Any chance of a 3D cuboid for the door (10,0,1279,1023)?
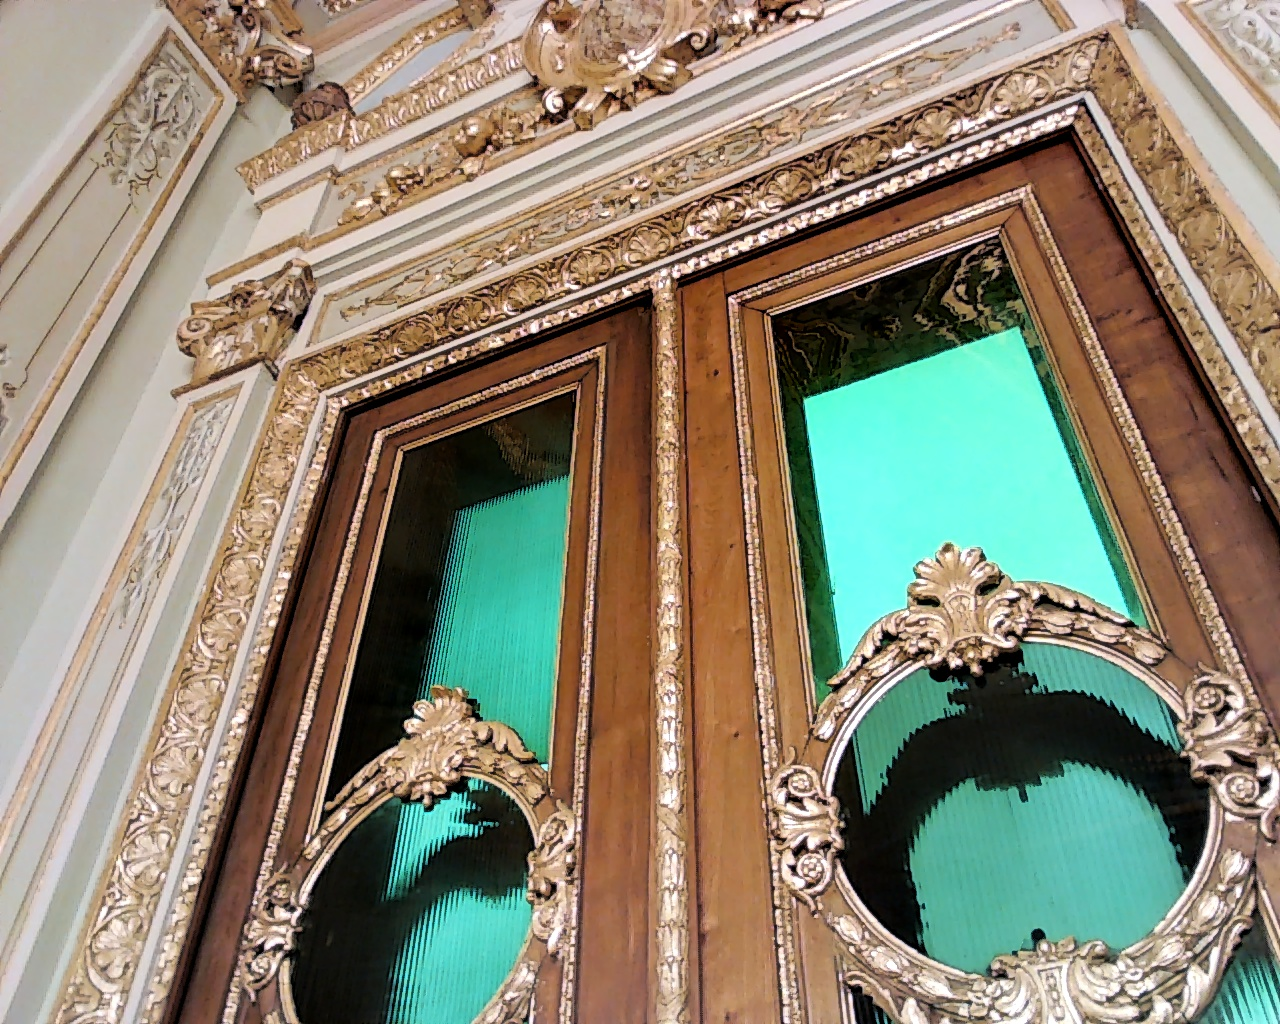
[{"bbox_3d":[0.000,0.751,0.950,1.719,3.531,0.260,-18,-47,20],"label":"door"}]
